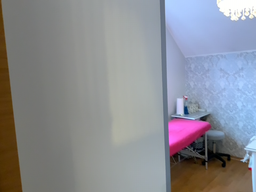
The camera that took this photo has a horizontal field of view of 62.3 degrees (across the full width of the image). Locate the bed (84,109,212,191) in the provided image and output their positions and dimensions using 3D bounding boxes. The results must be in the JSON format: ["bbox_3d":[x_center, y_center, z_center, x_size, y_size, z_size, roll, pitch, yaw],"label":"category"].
[{"bbox_3d":[0.410,0.710,2.730,0.620,0.730,1.860,5,10,42],"label":"bed"}]
